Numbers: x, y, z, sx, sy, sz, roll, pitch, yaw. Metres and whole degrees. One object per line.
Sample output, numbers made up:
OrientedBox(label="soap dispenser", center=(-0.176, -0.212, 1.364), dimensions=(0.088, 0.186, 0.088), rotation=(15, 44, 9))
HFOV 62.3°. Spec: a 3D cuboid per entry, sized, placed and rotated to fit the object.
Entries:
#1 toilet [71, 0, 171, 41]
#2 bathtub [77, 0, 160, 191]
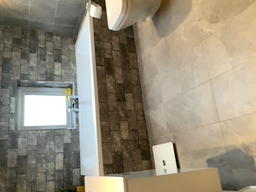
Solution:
OrientedBox(label="toilet", center=(-0.090, -0.960, 1.990), dimensions=(0.400, 0.800, 0.650), rotation=(144, 124, -59))
OrientedBox(label="bathtub", center=(-0.220, 0.030, 2.560), dimensions=(0.810, 0.560, 2.230), rotation=(144, 123, -59))
